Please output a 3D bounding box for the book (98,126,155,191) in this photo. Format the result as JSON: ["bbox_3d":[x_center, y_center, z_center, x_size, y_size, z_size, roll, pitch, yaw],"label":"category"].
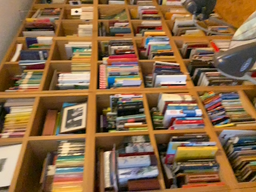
[{"bbox_3d":[-0.030,0.420,1.340,0.330,0.300,0.300,-98,9,-48],"label":"book"}]

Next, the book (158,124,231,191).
[{"bbox_3d":[0.400,0.420,1.390,0.360,0.300,0.290,-98,9,-48],"label":"book"}]

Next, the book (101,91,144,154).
[{"bbox_3d":[-0.060,0.200,1.630,0.350,0.280,0.320,-98,9,-48],"label":"book"}]

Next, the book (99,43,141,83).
[{"bbox_3d":[-0.090,-0.330,2.070,0.320,0.370,0.250,-98,9,-48],"label":"book"}]

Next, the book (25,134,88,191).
[{"bbox_3d":[-0.420,0.460,1.350,0.330,0.300,0.260,-98,9,-48],"label":"book"}]

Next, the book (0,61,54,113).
[{"bbox_3d":[-0.870,-0.080,1.850,0.290,0.330,0.350,96,171,-47],"label":"book"}]

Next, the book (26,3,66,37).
[{"bbox_3d":[-0.970,-0.920,2.570,0.250,0.360,0.340,96,171,-47],"label":"book"}]

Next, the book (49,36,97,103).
[{"bbox_3d":[-0.480,-0.280,2.020,0.670,0.350,0.300,-98,9,-48],"label":"book"}]

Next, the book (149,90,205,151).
[{"bbox_3d":[0.360,0.190,1.670,0.310,0.290,0.350,-98,9,-48],"label":"book"}]
